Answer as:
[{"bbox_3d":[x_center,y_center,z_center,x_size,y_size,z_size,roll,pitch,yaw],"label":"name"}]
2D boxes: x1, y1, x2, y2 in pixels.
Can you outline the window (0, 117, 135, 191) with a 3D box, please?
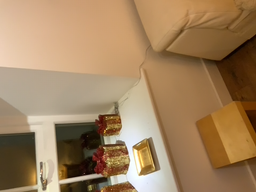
[{"bbox_3d":[-0.460,0.530,1.310,0.080,1.070,0.810,-44,53,48],"label":"window"}]
